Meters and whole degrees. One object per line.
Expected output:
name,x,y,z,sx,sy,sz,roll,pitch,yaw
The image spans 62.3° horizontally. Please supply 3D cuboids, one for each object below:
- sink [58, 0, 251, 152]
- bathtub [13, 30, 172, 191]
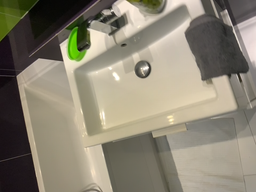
sink,0.040,-0.090,0.790,0.600,0.180,0.470,-20,80,34
bathtub,-0.200,0.530,1.510,0.690,0.590,1.700,-22,79,34
